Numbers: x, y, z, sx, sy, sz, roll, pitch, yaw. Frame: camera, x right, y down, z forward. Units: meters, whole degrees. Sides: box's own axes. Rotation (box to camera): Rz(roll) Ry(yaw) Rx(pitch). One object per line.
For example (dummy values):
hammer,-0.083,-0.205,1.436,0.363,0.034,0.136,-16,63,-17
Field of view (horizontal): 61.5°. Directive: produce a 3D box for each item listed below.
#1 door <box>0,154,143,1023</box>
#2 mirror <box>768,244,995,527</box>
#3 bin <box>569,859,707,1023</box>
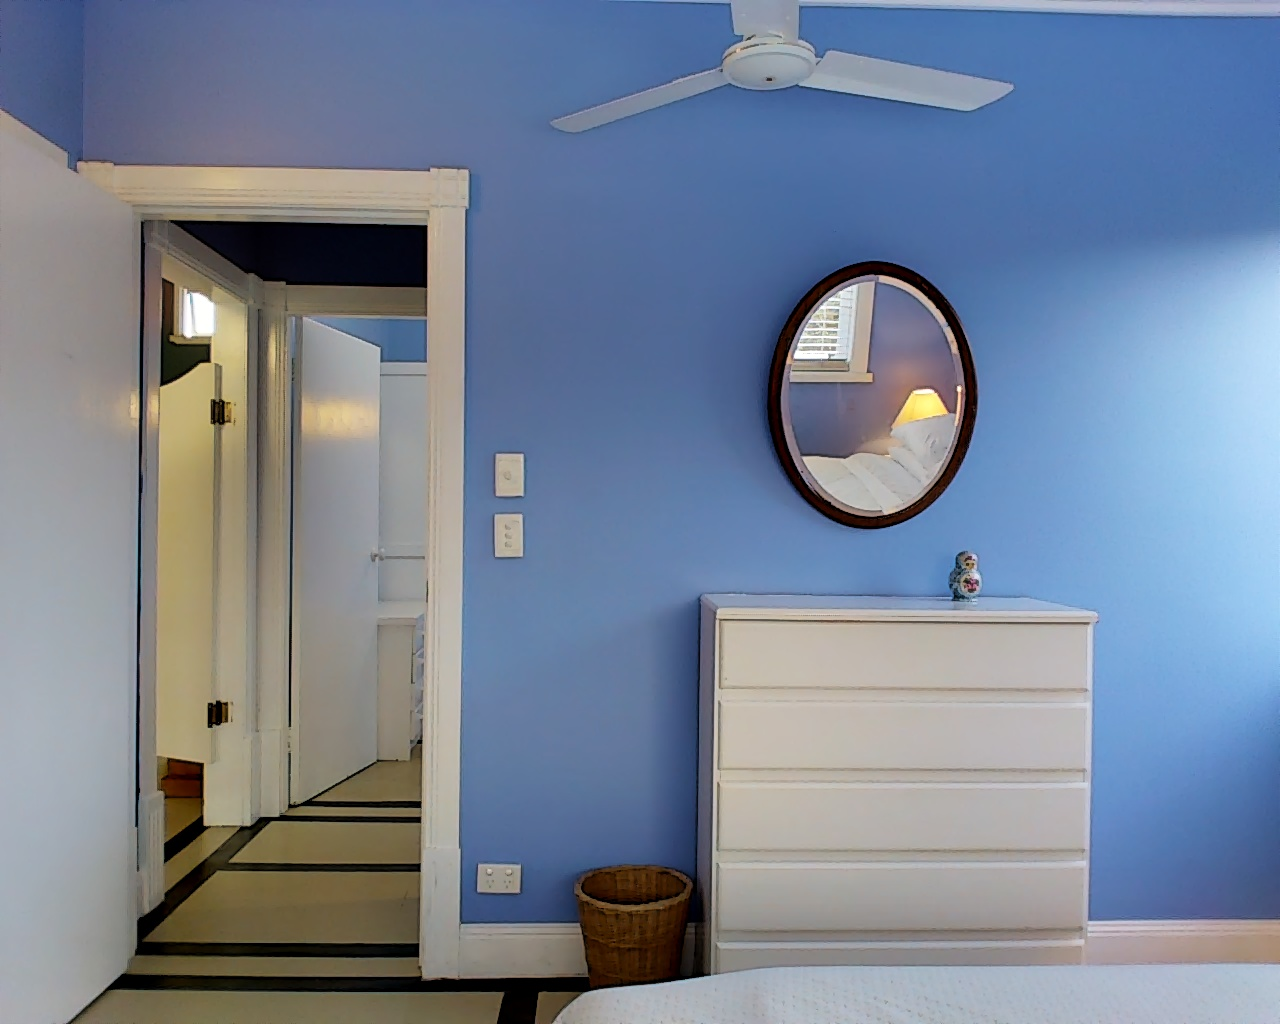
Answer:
door,-1.390,0.250,2.460,0.100,1.991,0.820,1,0,1
mirror,0.640,-0.330,2.880,0.570,0.730,0.140,1,0,-2
bin,-0.010,1.100,2.760,0.330,0.310,0.330,1,0,-2
